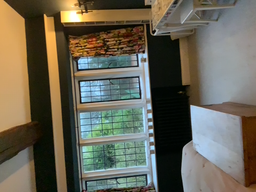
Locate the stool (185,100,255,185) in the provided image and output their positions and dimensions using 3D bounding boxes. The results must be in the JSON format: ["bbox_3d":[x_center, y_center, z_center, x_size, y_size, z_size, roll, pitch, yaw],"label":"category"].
[{"bbox_3d":[0.990,0.350,2.070,1.040,0.480,0.530,-164,70,-84],"label":"stool"}]

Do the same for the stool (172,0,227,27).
[{"bbox_3d":[0.810,-1.050,2.470,0.390,0.450,0.330,144,122,-83],"label":"stool"}]
